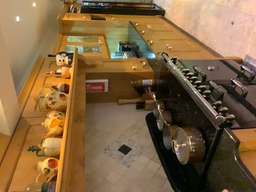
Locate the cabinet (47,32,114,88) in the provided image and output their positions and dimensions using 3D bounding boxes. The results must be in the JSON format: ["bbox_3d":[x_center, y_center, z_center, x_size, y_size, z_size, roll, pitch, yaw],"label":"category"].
[{"bbox_3d":[-0.730,-0.640,3.370,1.420,0.820,0.350,-109,20,-56],"label":"cabinet"}]
